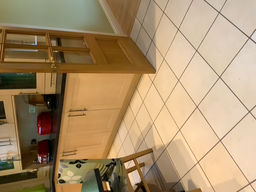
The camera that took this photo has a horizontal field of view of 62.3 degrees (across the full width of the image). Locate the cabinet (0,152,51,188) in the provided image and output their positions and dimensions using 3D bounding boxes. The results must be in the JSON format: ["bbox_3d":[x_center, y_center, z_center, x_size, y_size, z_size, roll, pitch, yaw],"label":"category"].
[{"bbox_3d":[-2.040,1.330,3.730,0.420,1.240,0.320,113,144,-42],"label":"cabinet"}]
